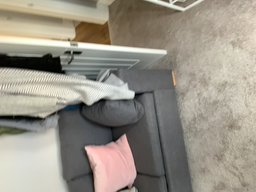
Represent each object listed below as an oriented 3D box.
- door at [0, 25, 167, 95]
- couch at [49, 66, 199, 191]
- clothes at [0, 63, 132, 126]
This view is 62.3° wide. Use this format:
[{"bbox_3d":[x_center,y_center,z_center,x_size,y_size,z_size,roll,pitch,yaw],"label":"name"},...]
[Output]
[{"bbox_3d":[-0.710,-0.200,1.510,0.780,2.060,0.130,-29,72,49],"label":"door"},{"bbox_3d":[-0.040,0.640,1.840,0.890,0.790,1.610,-13,84,52],"label":"couch"},{"bbox_3d":[-0.810,0.040,1.350,0.840,1.450,0.260,-16,82,51],"label":"clothes"}]
